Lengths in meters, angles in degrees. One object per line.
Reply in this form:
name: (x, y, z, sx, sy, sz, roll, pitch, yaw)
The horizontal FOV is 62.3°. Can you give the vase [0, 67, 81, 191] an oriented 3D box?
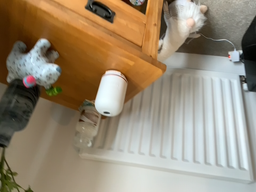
vase: (-0.480, 0.240, 0.820, 0.350, 0.560, 0.290, -17, 139, 37)
